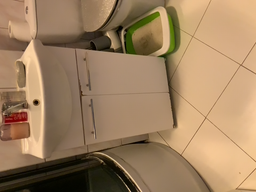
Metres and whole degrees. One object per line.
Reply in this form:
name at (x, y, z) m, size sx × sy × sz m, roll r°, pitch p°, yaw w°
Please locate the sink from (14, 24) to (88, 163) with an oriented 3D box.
sink at (-0.380, 0.010, 0.980) m, size 0.410 × 0.170 × 0.510 m, roll -13°, pitch 82°, yaw 52°
